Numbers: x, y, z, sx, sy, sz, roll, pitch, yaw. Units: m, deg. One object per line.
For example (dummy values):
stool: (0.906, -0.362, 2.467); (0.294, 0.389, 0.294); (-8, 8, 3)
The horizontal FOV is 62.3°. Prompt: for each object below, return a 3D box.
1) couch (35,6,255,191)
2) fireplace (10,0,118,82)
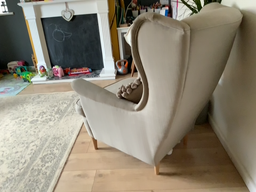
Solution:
couch: (0.120, -0.040, 1.440); (1.030, 0.960, 0.820); (16, 30, 39)
fireplace: (-0.890, -0.870, 3.250); (1.320, 1.180, 0.440); (-2, 23, 6)
